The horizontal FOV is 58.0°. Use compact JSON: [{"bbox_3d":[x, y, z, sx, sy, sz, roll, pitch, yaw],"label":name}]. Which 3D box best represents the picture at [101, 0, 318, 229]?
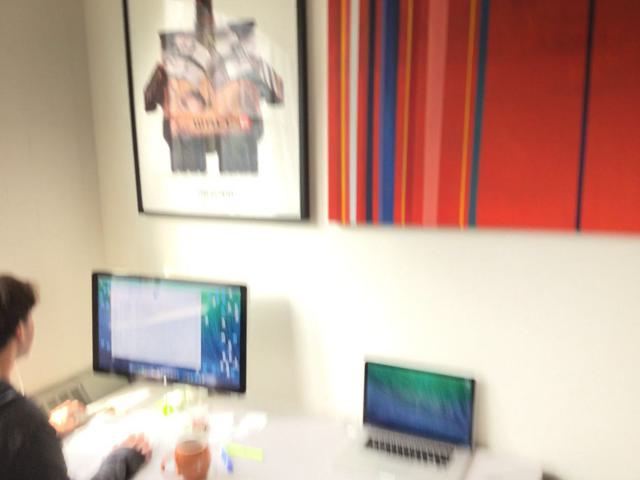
[{"bbox_3d":[-0.390,-0.580,1.900,0.780,1.060,0.100,2,9,29],"label":"picture"}]

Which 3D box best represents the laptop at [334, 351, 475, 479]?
[{"bbox_3d":[0.250,0.500,1.690,0.350,0.250,0.210,2,9,29],"label":"laptop"}]

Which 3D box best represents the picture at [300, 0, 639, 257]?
[{"bbox_3d":[0.510,-0.500,1.470,1.240,1.060,0.090,2,9,29],"label":"picture"}]
